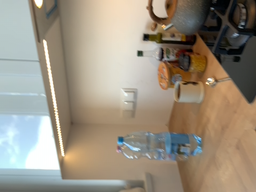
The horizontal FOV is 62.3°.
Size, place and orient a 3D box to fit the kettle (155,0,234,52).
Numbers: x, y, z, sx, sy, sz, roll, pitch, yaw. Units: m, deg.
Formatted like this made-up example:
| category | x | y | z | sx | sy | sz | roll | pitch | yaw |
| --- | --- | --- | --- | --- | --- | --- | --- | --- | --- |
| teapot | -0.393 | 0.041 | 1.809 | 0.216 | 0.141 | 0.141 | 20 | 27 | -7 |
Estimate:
| category | x | y | z | sx | sy | sz | roll | pitch | yaw |
| --- | --- | --- | --- | --- | --- | --- | --- | --- | --- |
| kettle | 0.220 | -0.300 | 0.740 | 0.160 | 0.190 | 0.230 | -94 | 8 | -49 |
